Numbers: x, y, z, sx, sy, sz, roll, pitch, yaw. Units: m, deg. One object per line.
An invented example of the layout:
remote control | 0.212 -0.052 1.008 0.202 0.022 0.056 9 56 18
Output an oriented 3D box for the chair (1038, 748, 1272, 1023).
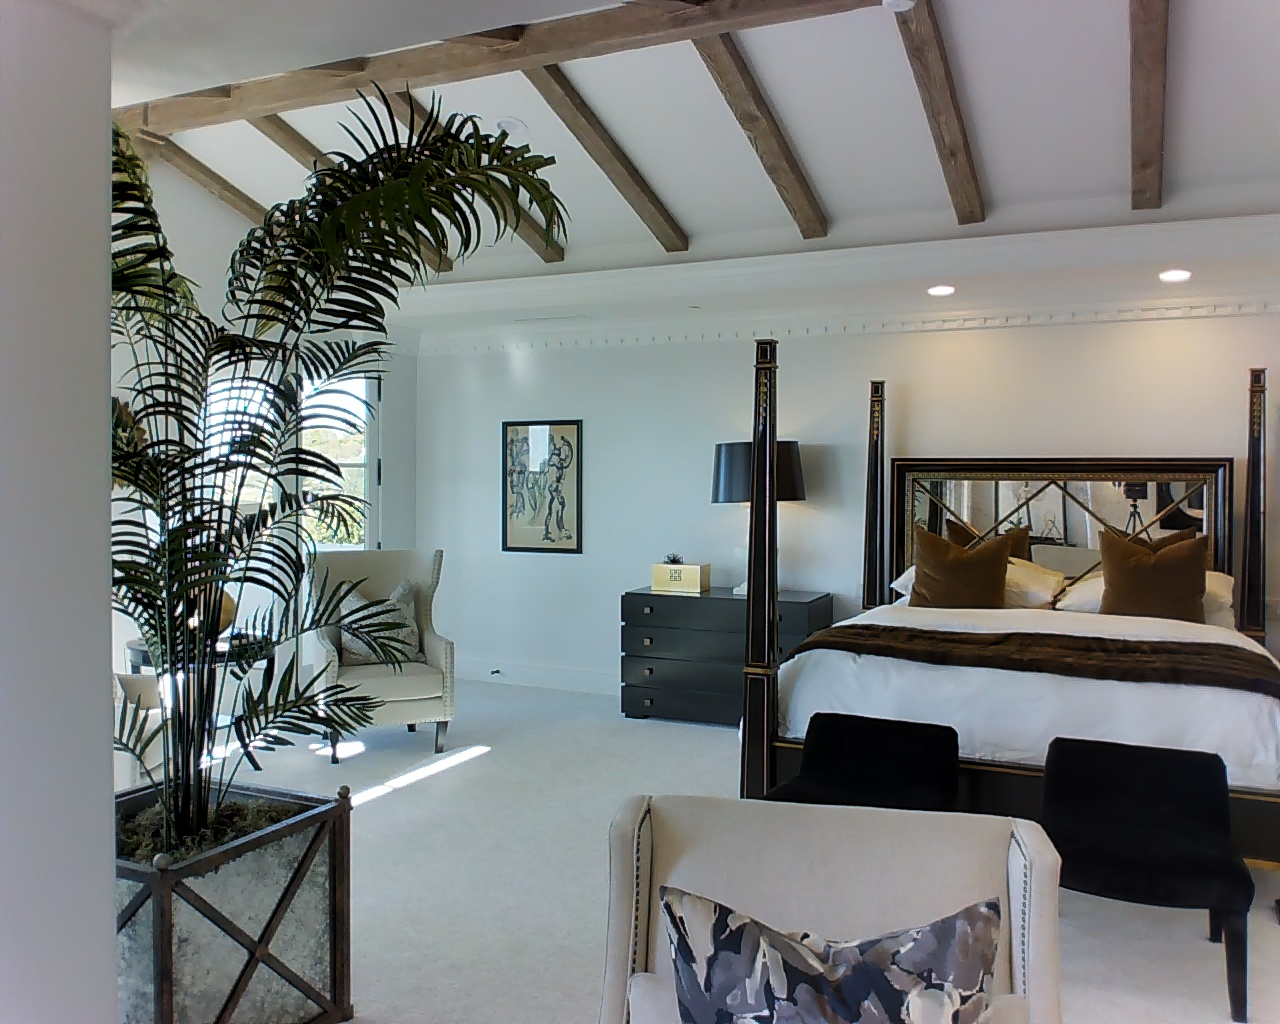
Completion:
chair | 1.689 1.190 3.550 0.630 0.610 0.690 1 1 26

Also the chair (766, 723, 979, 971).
chair | 0.870 1.180 3.940 0.620 0.620 0.680 1 1 26

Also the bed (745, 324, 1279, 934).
bed | 2.059 0.390 5.300 2.339 2.171 2.500 1 1 26

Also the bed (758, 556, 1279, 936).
bed | 2.039 0.920 5.350 2.239 1.210 2.310 1 1 26
